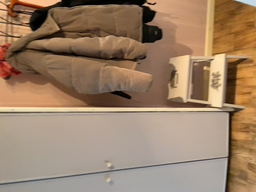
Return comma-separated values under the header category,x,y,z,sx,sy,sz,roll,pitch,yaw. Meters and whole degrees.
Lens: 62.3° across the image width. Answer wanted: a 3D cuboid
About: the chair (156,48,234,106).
category,x,y,z,sx,sy,sz,roll,pitch,yaw
chair,0.580,-0.140,1.850,0.310,0.580,0.430,-177,89,-64
